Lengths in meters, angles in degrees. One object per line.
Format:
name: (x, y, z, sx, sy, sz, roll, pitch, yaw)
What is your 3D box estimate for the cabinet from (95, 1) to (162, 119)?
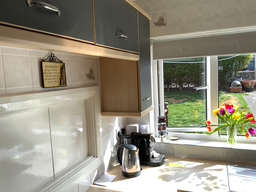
cabinet: (0.040, -0.270, 1.810, 0.340, 0.820, 0.550, 0, 6, 24)

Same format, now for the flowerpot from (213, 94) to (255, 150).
flowerpot: (0.990, 0.210, 1.850, 0.450, 0.420, 0.280, 0, 6, 23)

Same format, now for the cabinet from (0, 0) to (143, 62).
cabinet: (-0.300, -0.380, 1.010, 0.360, 0.370, 1.170, 0, 6, 24)
